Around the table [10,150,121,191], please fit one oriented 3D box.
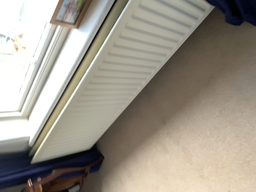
[{"bbox_3d":[-0.500,0.950,1.740,0.600,0.690,0.640,-51,59,32],"label":"table"}]
